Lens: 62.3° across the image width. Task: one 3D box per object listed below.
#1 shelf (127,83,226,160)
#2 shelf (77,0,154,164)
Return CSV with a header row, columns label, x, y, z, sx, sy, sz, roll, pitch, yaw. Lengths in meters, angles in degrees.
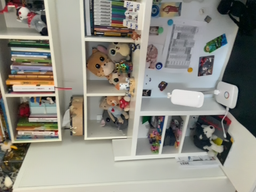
label,x,y,z,sx,sy,sz,roll,pitch,yaw
shelf,0.280,0.150,1.420,0.370,0.500,0.350,-107,19,-62
shelf,-0.100,-0.160,1.190,0.390,0.310,1.040,-107,19,-62
